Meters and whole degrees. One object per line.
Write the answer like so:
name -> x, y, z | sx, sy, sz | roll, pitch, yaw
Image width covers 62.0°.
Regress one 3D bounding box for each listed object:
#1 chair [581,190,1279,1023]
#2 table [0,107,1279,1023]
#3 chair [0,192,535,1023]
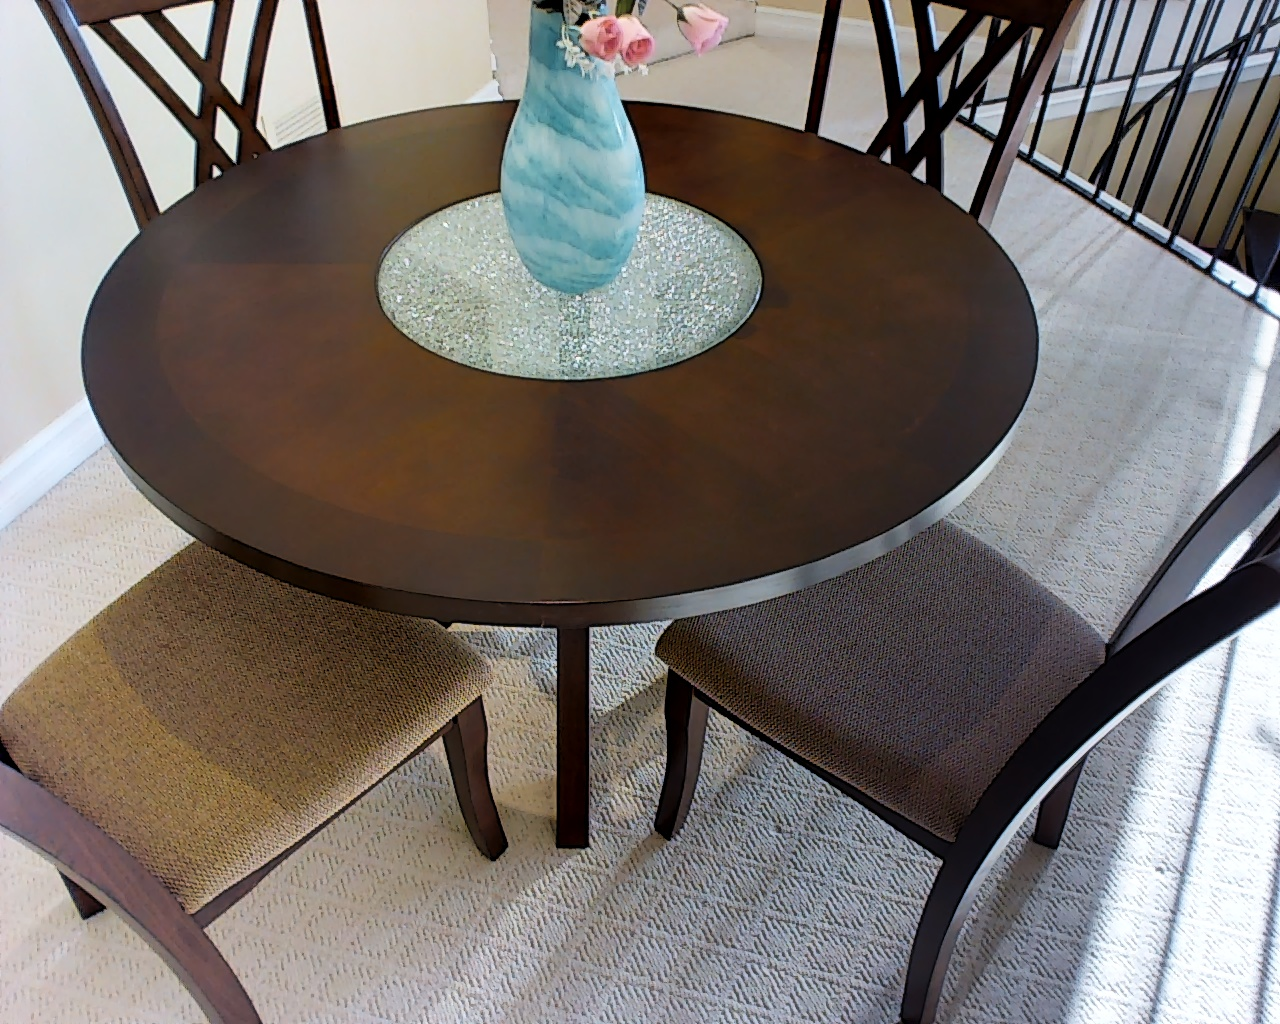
chair -> 0.310, 0.150, 1.350 | 0.530, 0.830, 0.530 | 33, 51, 31
table -> -0.100, -0.020, 1.650 | 1.320, 0.740, 1.190 | -2, 42, -4
chair -> -0.500, 0.190, 1.250 | 0.520, 0.870, 0.480 | 25, 47, 24
